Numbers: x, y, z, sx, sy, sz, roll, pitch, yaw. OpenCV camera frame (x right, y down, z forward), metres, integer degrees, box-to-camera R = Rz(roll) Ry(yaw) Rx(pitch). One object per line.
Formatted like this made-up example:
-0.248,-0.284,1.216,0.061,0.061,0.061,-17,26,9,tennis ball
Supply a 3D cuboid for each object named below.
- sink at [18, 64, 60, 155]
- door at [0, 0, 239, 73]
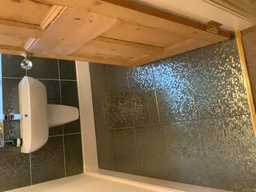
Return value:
-0.780,0.130,1.820,0.470,0.190,0.680,-16,78,52,sink
-0.430,-0.300,0.860,0.760,2.040,0.100,-17,77,52,door
